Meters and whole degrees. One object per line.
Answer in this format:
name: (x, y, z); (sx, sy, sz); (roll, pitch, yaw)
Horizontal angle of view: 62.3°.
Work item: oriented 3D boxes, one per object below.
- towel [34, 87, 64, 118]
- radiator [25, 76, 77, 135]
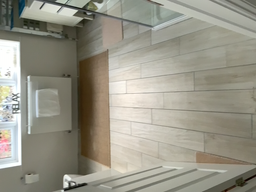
towel: (-1.110, 0.090, 2.990); (0.160, 0.360, 0.410); (0, 90, 54)
radiator: (-1.130, 0.130, 3.150); (0.140, 0.700, 0.810); (-3, 88, 54)
